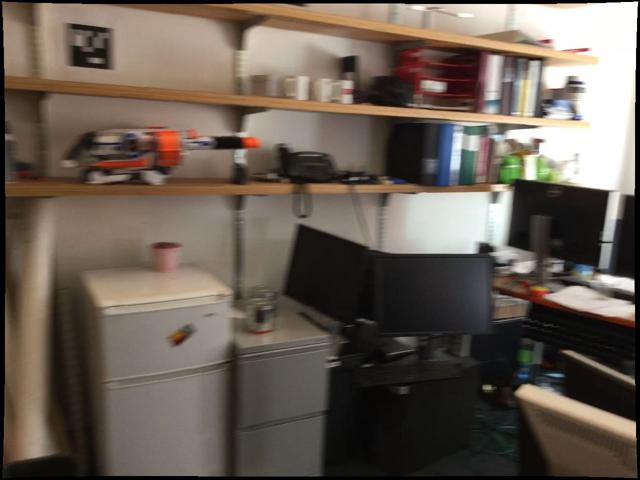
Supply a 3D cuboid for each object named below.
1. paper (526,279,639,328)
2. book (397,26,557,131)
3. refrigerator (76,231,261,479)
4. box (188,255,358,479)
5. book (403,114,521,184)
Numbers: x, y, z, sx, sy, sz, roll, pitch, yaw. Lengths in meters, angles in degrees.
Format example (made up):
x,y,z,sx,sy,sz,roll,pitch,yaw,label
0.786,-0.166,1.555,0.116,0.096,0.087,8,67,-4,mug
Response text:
x,y,z,sx,sy,sz,roll,pitch,yaw,label
1.159,0.270,2.550,0.310,0.050,0.370,-9,19,-42,paper
0.799,-0.811,2.960,0.699,0.440,0.340,-4,16,-29,book
-0.629,0.480,2.320,0.550,0.891,0.590,-4,16,-29,refrigerator
-0.240,0.531,2.500,0.470,0.751,0.640,-4,16,-29,box
0.709,-0.450,2.880,0.560,0.310,0.180,-4,16,-29,book
